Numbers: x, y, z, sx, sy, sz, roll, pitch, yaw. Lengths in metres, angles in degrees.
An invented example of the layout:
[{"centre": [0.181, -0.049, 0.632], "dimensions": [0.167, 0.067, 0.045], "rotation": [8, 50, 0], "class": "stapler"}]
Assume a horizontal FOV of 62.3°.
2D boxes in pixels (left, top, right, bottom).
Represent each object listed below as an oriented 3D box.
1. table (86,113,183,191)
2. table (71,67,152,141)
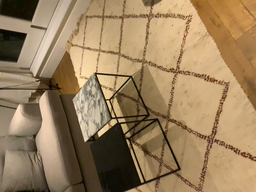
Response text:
[{"centre": [0.030, 0.420, 1.520], "dimensions": [0.420, 0.410, 0.420], "rotation": [-42, 60, 40], "class": "table"}, {"centre": [-0.150, 0.070, 1.730], "dimensions": [0.410, 0.400, 0.410], "rotation": [-43, 60, 39], "class": "table"}]
